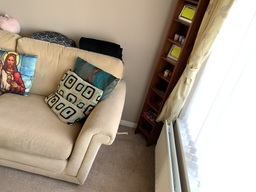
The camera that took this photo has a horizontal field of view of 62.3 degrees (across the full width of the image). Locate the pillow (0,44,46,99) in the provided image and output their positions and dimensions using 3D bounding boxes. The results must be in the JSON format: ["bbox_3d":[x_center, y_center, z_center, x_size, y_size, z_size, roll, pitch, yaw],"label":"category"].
[{"bbox_3d":[-1.120,-0.250,1.970,0.540,0.400,0.230,16,4,-2],"label":"pillow"}]

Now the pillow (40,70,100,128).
[{"bbox_3d":[-0.520,0.010,1.850,0.190,0.370,0.480,23,-4,-44],"label":"pillow"}]
